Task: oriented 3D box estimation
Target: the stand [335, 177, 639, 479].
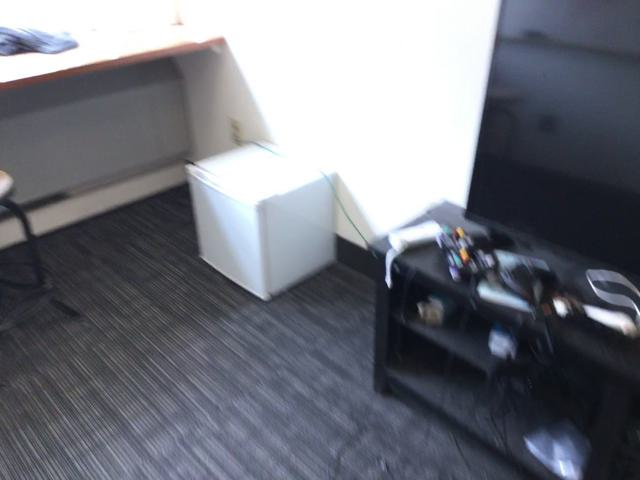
[{"bbox_3d":[0.760,0.400,1.450,0.530,0.680,1.480,-26,33,-34],"label":"stand"}]
